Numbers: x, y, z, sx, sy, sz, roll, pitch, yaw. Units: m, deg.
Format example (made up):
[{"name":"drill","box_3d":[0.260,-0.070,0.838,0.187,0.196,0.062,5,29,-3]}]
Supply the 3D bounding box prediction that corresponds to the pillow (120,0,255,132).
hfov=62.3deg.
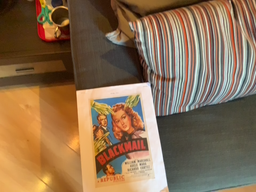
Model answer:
[{"name":"pillow","box_3d":[0.310,-0.120,0.610,0.600,0.330,0.220,-16,93,-7]}]

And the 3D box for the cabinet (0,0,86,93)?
[{"name":"cabinet","box_3d":[-0.500,-0.270,1.040,0.520,0.360,0.370,-6,72,-7]}]
